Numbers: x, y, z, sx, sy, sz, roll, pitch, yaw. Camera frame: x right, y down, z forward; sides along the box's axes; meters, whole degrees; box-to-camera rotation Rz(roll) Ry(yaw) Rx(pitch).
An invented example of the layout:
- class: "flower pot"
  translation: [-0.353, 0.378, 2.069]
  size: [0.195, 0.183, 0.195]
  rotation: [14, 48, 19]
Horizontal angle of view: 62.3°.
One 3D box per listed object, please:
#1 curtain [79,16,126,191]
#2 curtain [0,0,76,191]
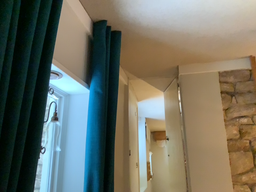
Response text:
- class: "curtain"
  translation: [-0.210, 0.380, 2.000]
  size: [0.270, 2.220, 0.550]
  rotation: [-4, 163, 9]
- class: "curtain"
  translation: [-0.480, 0.120, 0.960]
  size: [0.220, 2.250, 0.480]
  rotation: [-4, 163, 9]
